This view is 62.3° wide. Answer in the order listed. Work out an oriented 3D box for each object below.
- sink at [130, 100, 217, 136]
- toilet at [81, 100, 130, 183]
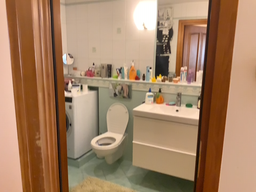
[{"bbox_3d":[0.490,0.200,2.270,0.810,0.140,0.490,7,13,25],"label":"sink"},{"bbox_3d":[-0.260,0.530,2.670,0.370,0.820,0.540,7,13,25],"label":"toilet"}]
